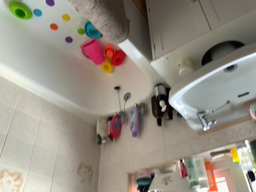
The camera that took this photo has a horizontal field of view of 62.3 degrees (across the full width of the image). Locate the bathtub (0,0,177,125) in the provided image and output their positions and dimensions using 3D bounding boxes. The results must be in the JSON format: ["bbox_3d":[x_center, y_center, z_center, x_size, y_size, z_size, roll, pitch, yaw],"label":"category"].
[{"bbox_3d":[-0.450,-0.480,1.140,0.680,0.530,1.620,-25,138,28],"label":"bathtub"}]

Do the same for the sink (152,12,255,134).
[{"bbox_3d":[0.470,-0.080,0.960,0.580,0.220,0.390,-25,138,28],"label":"sink"}]
